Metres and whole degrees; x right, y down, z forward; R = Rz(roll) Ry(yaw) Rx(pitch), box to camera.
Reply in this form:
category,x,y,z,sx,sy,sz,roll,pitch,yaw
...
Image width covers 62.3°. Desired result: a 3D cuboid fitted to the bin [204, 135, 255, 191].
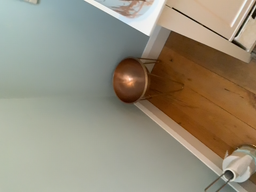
category,x,y,z,sx,sy,sz,roll,pitch,yaw
bin,0.520,0.320,0.970,0.180,0.280,0.160,43,118,33
